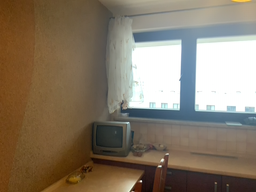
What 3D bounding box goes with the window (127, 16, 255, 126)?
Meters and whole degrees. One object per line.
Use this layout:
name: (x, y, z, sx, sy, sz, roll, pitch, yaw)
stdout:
window: (0.830, -0.290, 2.690, 1.650, 1.210, 0.290, 2, 1, 19)
